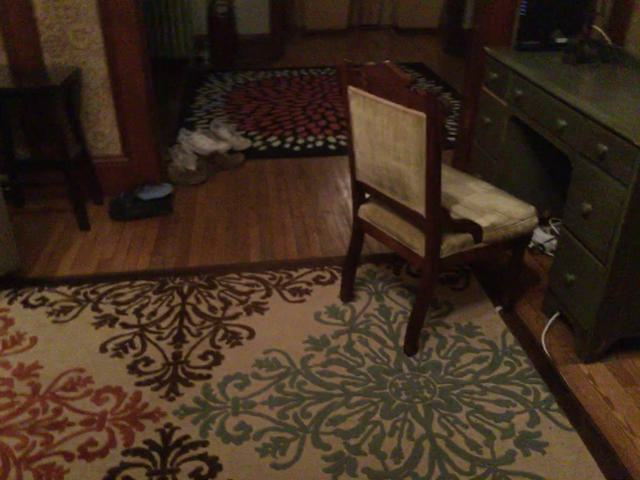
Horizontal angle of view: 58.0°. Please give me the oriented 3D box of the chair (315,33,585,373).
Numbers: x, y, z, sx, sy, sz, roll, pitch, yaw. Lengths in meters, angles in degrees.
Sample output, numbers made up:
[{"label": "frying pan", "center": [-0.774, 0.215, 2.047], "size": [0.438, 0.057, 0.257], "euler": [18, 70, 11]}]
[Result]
[{"label": "chair", "center": [0.370, -0.160, 1.930], "size": [0.550, 0.890, 0.560], "euler": [-18, 34, -30]}]

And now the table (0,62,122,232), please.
[{"label": "table", "center": [-1.220, -0.410, 2.540], "size": [0.530, 0.650, 0.320], "euler": [-4, 29, -7]}]
